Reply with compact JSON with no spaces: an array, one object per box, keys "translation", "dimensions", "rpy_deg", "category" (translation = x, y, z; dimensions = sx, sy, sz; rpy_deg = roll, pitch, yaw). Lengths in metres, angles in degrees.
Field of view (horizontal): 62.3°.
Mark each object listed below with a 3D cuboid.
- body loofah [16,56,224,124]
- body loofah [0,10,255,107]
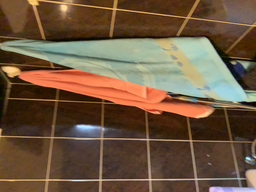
[{"translation":[-0.020,-0.010,1.090],"dimensions":[0.230,0.930,0.220],"rpy_deg":[113,158,-63],"category":"body loofah"},{"translation":[0.000,-0.120,0.860],"dimensions":[0.250,0.950,0.210],"rpy_deg":[112,159,-62],"category":"body loofah"}]
